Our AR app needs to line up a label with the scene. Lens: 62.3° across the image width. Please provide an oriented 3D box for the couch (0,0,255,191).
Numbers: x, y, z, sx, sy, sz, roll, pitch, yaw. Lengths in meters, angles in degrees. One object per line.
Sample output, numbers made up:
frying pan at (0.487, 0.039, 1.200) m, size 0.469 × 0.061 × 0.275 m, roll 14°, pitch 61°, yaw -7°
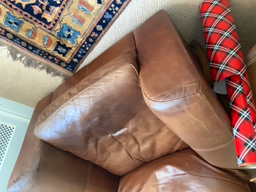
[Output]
couch at (0.030, 0.300, 1.110) m, size 1.030 × 0.900 × 0.910 m, roll -31°, pitch 131°, yaw 25°
